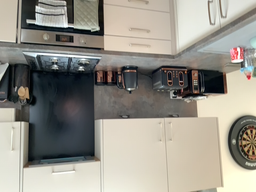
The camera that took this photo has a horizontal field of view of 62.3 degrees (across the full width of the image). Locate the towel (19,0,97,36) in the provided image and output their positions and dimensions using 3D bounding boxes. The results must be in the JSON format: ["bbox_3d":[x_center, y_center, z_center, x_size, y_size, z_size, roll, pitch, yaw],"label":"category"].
[{"bbox_3d":[-0.510,-0.700,1.590,0.530,0.410,0.130,0,173,-20],"label":"towel"}]

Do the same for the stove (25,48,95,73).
[{"bbox_3d":[-0.590,-0.300,1.880,0.520,0.060,0.490,0,174,-18],"label":"stove"}]
